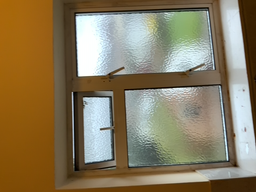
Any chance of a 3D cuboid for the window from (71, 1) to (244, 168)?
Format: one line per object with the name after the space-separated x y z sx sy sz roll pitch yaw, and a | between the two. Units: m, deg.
0.140 -0.090 1.200 0.050 0.900 0.900 98 169 -81 | window
